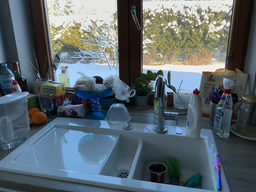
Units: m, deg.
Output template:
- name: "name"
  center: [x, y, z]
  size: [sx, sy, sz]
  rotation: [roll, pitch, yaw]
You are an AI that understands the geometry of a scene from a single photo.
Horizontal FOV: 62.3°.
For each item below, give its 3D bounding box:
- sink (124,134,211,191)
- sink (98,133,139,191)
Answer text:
- name: "sink"
  center: [0.170, 0.350, 0.950]
  size: [0.310, 0.190, 0.330]
  rotation: [4, 19, 11]
- name: "sink"
  center: [-0.030, 0.310, 0.970]
  size: [0.110, 0.130, 0.320]
  rotation: [4, 19, 11]
